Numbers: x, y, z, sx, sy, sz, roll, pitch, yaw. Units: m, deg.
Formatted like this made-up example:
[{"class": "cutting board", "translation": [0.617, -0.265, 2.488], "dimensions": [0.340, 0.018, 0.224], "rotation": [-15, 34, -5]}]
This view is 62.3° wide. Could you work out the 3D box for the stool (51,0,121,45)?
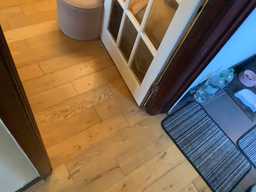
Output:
[{"class": "stool", "translation": [-0.370, -0.740, 1.770], "dimensions": [0.430, 0.350, 0.420], "rotation": [-18, 66, -23]}]
